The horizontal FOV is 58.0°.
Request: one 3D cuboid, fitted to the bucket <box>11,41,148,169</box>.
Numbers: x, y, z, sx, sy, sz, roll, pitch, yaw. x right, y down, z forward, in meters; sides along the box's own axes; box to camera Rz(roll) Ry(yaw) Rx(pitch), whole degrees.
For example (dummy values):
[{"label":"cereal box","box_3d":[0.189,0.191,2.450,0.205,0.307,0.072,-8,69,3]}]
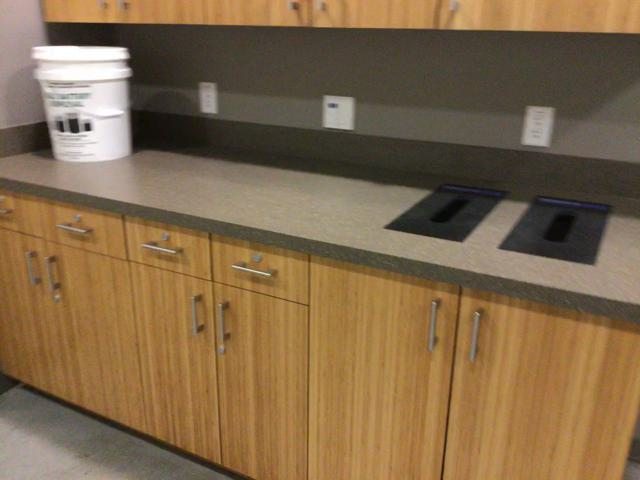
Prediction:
[{"label":"bucket","box_3d":[-0.840,-0.490,2.050,0.330,0.380,0.280,14,21,24]}]
